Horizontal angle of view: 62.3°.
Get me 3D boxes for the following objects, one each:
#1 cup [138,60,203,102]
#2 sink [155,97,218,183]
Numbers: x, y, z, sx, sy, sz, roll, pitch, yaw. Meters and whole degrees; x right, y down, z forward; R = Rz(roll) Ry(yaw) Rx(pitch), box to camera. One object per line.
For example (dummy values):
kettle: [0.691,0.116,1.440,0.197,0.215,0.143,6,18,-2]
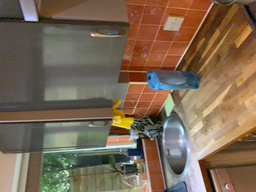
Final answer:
cup: [0.230,-0.080,1.210,0.170,0.300,0.170,115,152,-63]
sink: [0.390,0.340,1.590,0.480,0.170,0.500,110,157,-58]
